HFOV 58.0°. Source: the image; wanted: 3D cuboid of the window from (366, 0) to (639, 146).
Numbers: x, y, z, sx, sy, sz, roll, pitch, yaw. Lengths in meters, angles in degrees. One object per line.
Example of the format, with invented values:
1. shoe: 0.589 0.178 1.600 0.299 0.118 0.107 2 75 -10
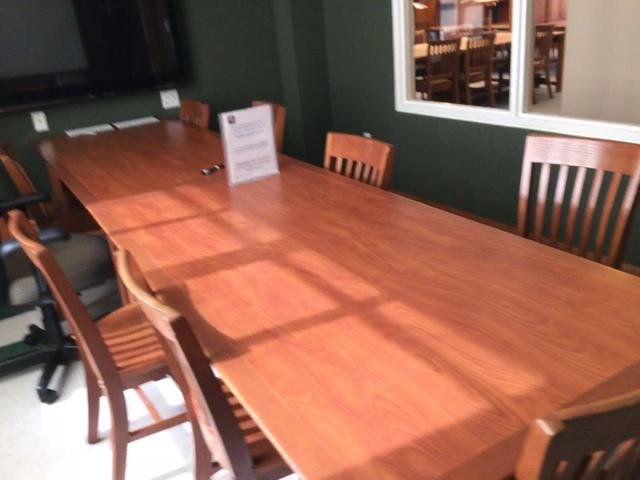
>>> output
1. window: 0.860 -1.280 2.740 0.130 1.450 1.940 -19 26 -29
